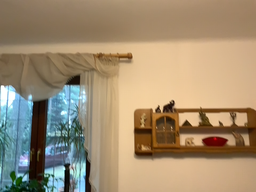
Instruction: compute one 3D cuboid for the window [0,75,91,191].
[{"bbox_3d":[-1.200,0.600,2.540,1.440,1.670,0.270,0,-8,0],"label":"window"}]
